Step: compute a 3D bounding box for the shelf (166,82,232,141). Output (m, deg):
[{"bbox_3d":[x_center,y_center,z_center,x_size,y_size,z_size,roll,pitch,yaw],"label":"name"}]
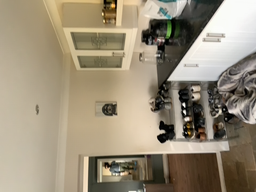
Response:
[{"bbox_3d":[0.970,0.220,2.970,0.250,0.750,0.780,109,160,-72],"label":"shelf"}]
